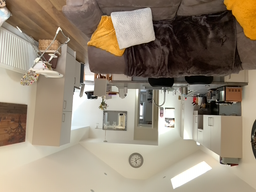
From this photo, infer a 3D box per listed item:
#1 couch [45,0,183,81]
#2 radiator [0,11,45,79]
[{"bbox_3d":[-0.050,-0.760,2.270,1.050,1.020,1.300,1,177,5],"label":"couch"},{"bbox_3d":[-1.930,-0.810,3.790,0.190,0.830,1.310,2,176,6],"label":"radiator"}]
